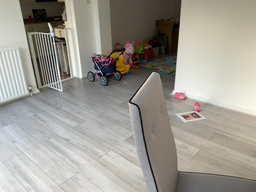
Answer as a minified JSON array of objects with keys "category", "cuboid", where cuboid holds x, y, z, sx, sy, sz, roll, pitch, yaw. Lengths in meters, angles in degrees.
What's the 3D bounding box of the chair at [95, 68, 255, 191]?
[{"category":"chair","cuboid":[0.270,0.460,0.980,0.630,1.050,0.430,7,25,17]}]
